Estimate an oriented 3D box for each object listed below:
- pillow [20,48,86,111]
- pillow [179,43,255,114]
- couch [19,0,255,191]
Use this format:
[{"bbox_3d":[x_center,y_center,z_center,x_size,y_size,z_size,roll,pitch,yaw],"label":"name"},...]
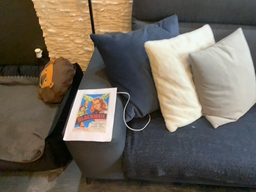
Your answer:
[{"bbox_3d":[-0.560,-0.140,1.680,0.320,0.260,0.430,5,44,4],"label":"pillow"},{"bbox_3d":[0.580,-0.110,1.200,0.500,0.450,0.150,-34,82,0],"label":"pillow"},{"bbox_3d":[0.910,-0.060,1.250,2.370,0.990,1.030,3,44,2],"label":"couch"}]
